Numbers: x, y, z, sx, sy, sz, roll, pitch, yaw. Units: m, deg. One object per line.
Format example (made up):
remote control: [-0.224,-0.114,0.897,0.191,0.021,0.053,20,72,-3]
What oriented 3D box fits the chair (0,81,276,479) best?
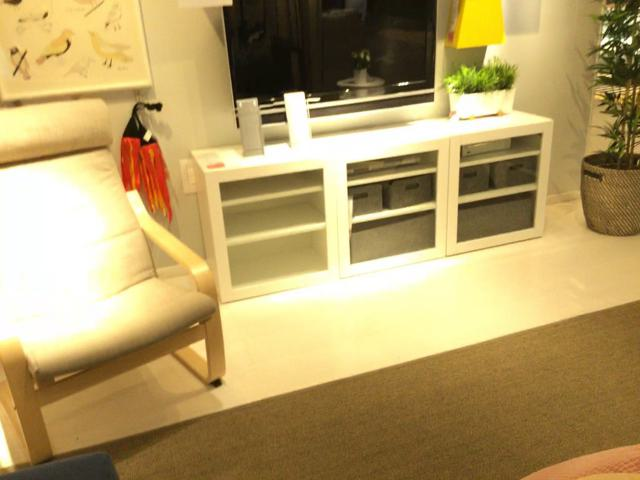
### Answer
chair: [-0.830,0.090,1.950,0.830,1.070,0.910,-23,25,-31]

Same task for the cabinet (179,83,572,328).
cabinet: [0.320,-0.240,2.910,1.850,0.720,0.500,-15,22,-14]
